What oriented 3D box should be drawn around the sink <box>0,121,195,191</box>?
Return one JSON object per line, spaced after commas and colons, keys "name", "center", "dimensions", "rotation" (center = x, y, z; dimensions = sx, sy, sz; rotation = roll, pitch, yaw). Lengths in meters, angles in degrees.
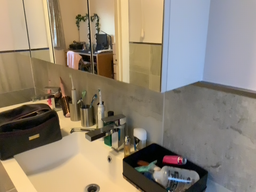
{"name": "sink", "center": [-0.140, 0.320, 0.780], "dimensions": [0.450, 0.160, 0.580], "rotation": [-16, 24, -40]}
